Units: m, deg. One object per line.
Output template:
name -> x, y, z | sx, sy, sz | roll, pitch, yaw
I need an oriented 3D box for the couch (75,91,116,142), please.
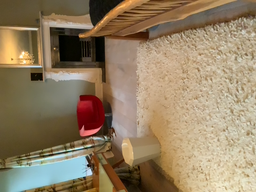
couch -> -0.790, 0.480, 4.880 | 0.850, 0.670, 0.880 | 126, 135, -58
